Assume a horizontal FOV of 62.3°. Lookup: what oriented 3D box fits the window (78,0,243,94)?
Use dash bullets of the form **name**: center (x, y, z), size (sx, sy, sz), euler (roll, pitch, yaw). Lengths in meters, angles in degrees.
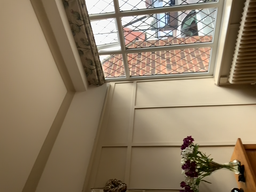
- **window**: center (0.390, -0.800, 2.690), size (0.230, 1.800, 1.690), euler (-82, -13, -51)
